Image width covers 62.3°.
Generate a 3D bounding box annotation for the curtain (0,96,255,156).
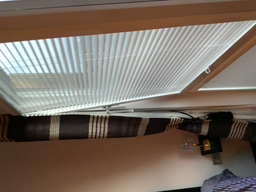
[{"bbox_3d":[0.120,0.220,1.550,0.610,2.330,0.210,118,149,-69],"label":"curtain"}]
